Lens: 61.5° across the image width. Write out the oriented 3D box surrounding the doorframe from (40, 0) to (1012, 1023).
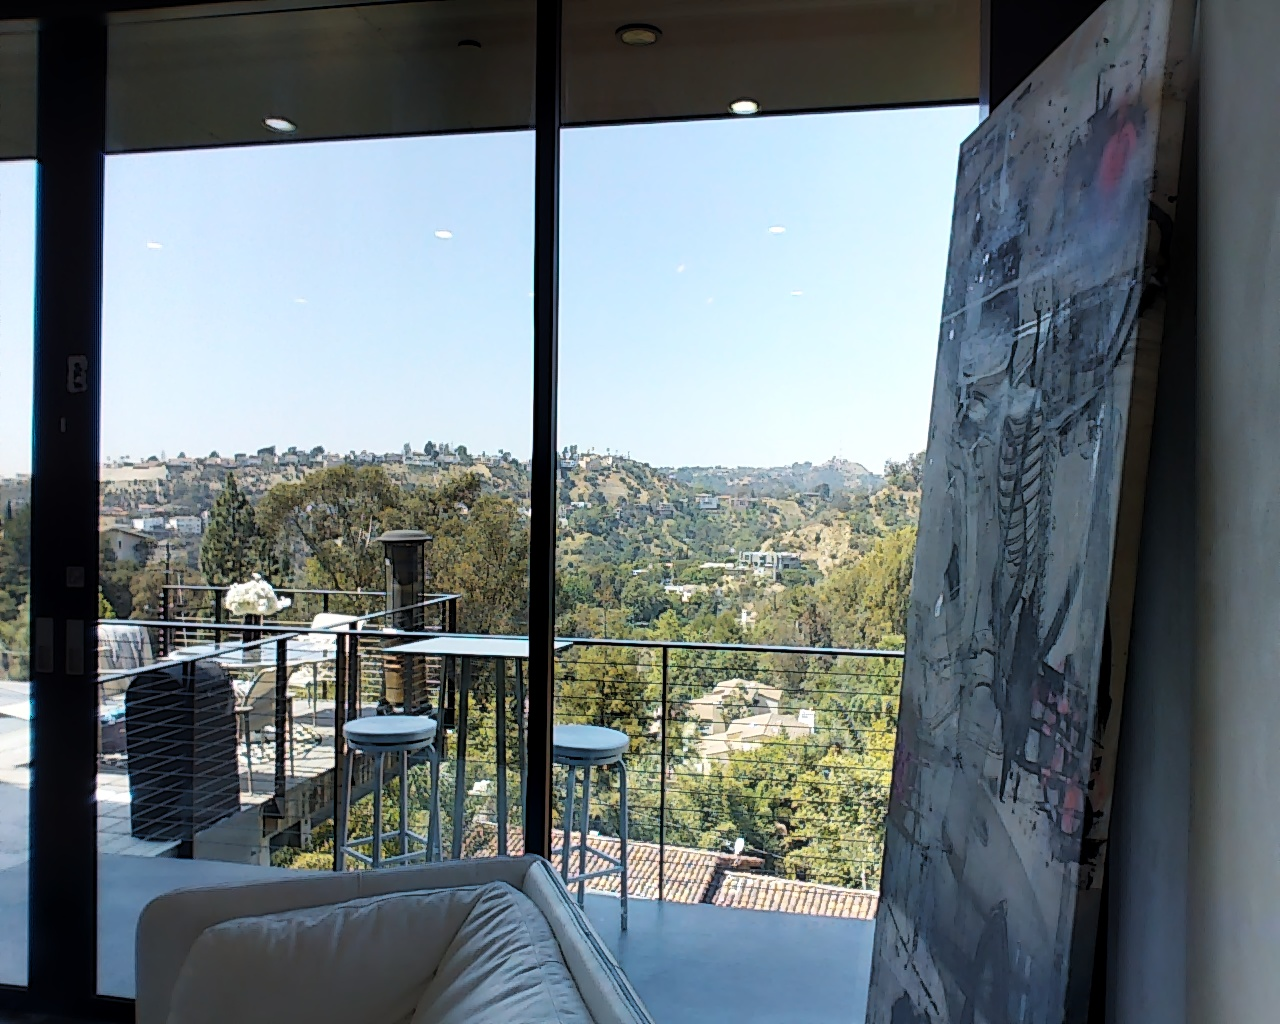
[{"bbox_3d":[-0.370,0.060,3.140,2.650,3.060,0.530,1,0,11],"label":"doorframe"}]
